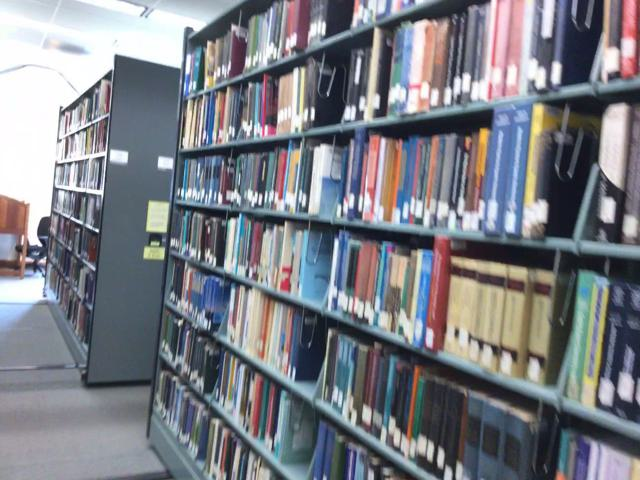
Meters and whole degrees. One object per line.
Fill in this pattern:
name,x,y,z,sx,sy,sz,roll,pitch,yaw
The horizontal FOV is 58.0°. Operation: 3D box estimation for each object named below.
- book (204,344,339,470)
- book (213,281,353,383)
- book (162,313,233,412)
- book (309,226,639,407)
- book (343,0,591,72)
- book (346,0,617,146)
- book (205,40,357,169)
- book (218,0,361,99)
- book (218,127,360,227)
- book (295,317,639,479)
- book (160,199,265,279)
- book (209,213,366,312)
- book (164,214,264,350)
book,-0.240,0.670,2.460,0.200,0.290,0.810,7,-1,-32
book,-0.190,0.360,2.440,0.210,0.280,0.800,7,-1,-32
book,-0.660,0.620,3.040,0.100,0.360,0.690,7,-1,-32
book,0.330,0.150,1.580,0.250,0.330,0.930,7,-1,-32
book,0.360,-0.740,1.580,0.160,0.370,0.760,7,-1,-32
book,0.360,-0.470,1.510,0.140,0.350,0.770,7,-1,-32
book,-0.220,-0.540,2.520,0.170,0.370,1.010,7,-1,-32
book,-0.160,-0.840,2.400,0.180,0.330,0.870,7,-1,-32
book,-0.170,-0.230,2.340,0.100,0.320,0.950,7,-1,-32
book,0.360,0.450,1.670,0.440,0.300,0.920,7,-1,-32
book,-0.610,-0.020,3.130,0.230,0.360,0.860,7,-1,-32
book,-0.180,0.070,2.480,0.260,0.340,0.860,7,-1,-32
book,-0.590,0.190,3.070,0.180,0.630,0.800,7,-1,-32
